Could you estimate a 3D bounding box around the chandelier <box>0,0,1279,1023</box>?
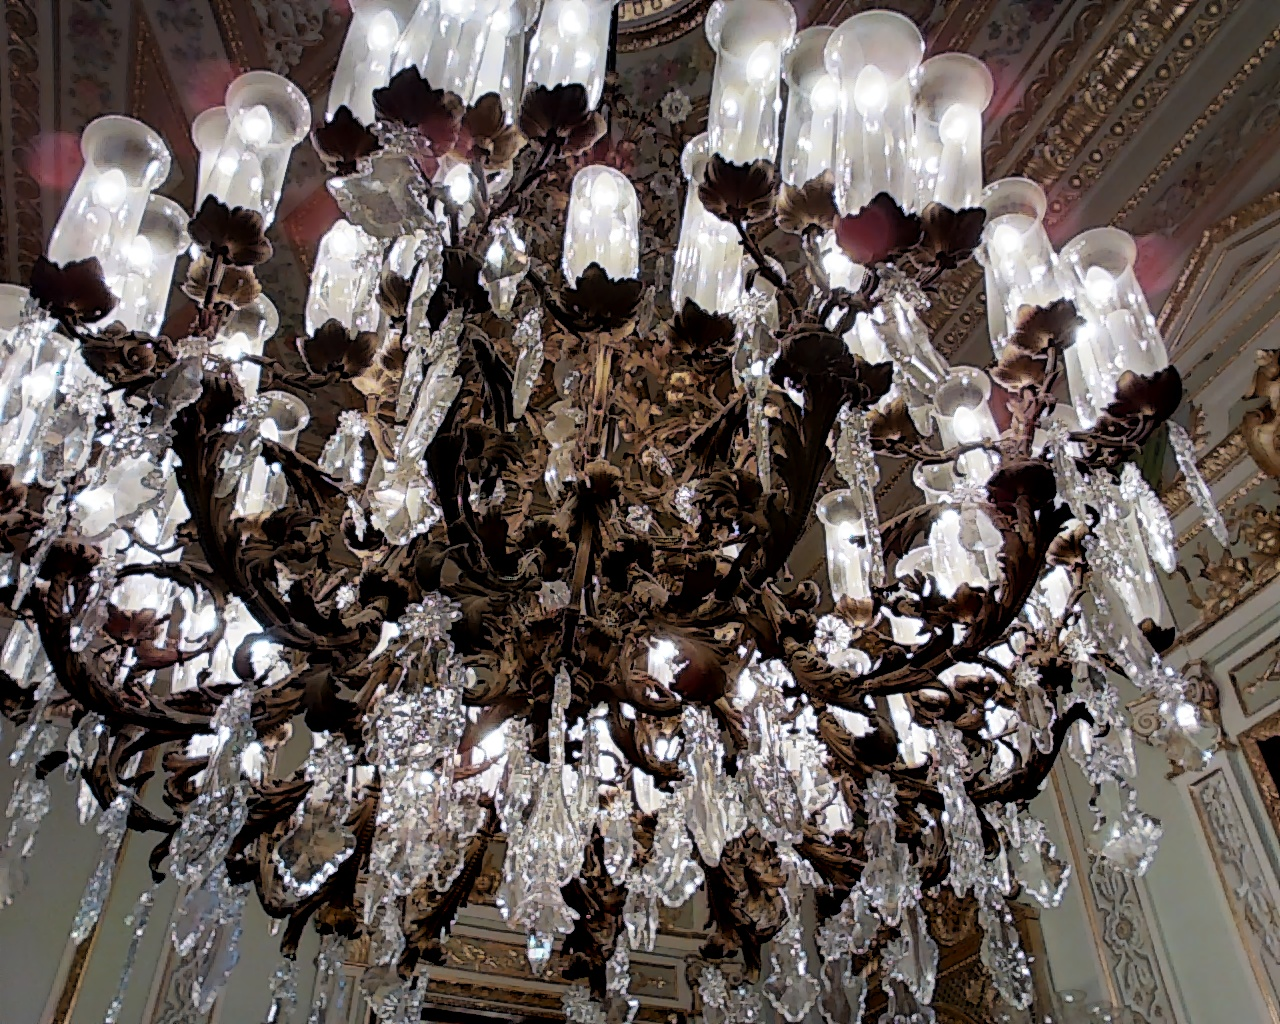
[{"bbox_3d":[-0.230,0.230,1.690,1.609,0.630,1.910,15,-43,-16],"label":"chandelier"}]
